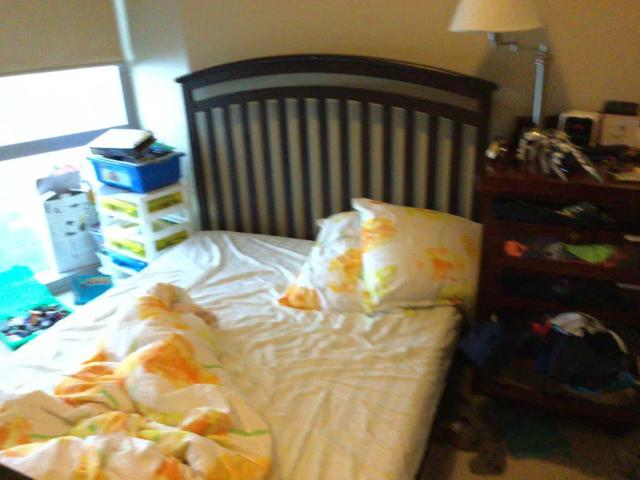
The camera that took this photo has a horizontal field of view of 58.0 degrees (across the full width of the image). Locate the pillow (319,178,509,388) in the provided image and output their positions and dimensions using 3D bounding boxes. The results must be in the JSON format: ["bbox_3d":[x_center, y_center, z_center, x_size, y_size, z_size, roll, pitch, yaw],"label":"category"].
[{"bbox_3d":[0.380,0.110,2.180,0.540,0.490,0.660,7,23,21],"label":"pillow"}]

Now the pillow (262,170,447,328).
[{"bbox_3d":[0.170,-0.010,2.260,0.490,0.330,0.700,7,24,22],"label":"pillow"}]

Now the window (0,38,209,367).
[{"bbox_3d":[-1.710,-0.150,2.420,2.110,1.190,1.040,-22,29,-40],"label":"window"}]
